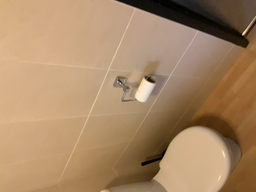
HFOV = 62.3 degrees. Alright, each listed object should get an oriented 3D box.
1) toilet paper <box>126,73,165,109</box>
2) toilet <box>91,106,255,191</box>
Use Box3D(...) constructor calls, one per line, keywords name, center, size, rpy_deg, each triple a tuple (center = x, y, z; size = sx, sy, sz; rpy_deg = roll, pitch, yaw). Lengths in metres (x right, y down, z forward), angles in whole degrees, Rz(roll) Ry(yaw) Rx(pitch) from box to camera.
Box3D(name="toilet paper", center=(0.080, -0.020, 0.990), size=(0.070, 0.110, 0.150), rpy_deg=(49, 125, 35))
Box3D(name="toilet", center=(0.310, 0.450, 1.260), size=(0.380, 0.800, 0.670), rpy_deg=(52, 126, 34))
